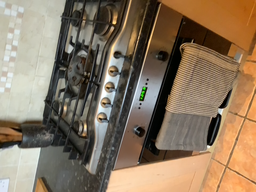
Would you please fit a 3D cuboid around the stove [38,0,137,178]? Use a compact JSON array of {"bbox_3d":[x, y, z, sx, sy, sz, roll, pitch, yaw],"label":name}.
[{"bbox_3d":[-0.220,-0.100,0.880,0.530,0.030,0.640,26,104,47],"label":"stove"}]
